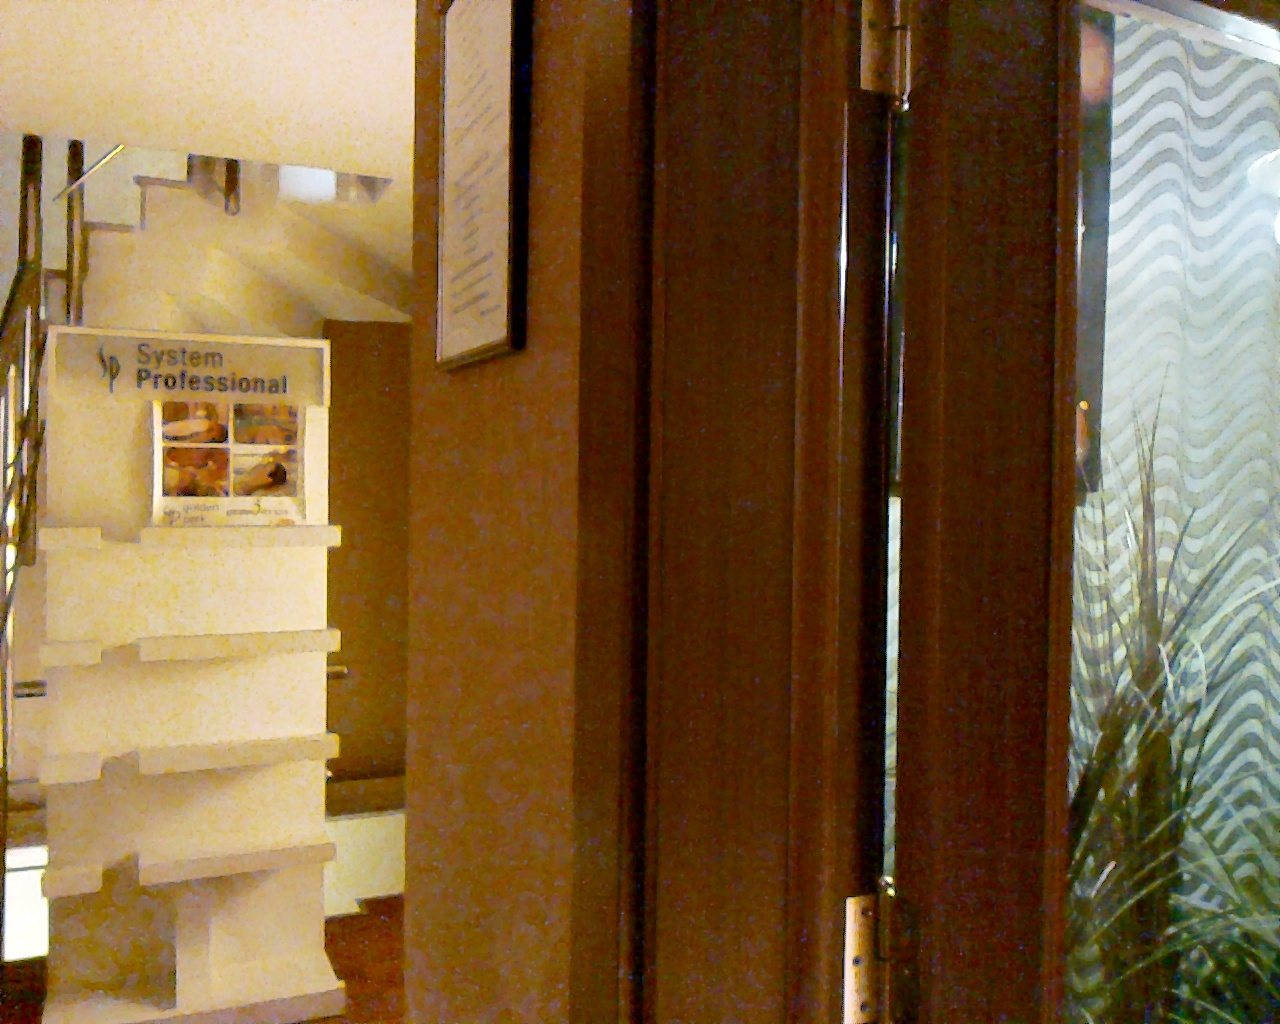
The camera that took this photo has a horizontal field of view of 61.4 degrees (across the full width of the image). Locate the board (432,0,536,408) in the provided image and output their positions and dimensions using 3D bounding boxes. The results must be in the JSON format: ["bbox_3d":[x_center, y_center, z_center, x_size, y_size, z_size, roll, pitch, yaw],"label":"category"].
[{"bbox_3d":[-0.180,-0.360,1.190,0.020,0.460,0.360,0,0,-23],"label":"board"}]
